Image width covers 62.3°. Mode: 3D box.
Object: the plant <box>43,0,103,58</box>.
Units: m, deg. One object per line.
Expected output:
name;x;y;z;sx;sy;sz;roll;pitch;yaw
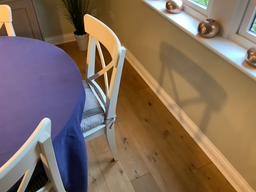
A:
plant;-0.600;-1.000;2.260;0.530;1.110;0.240;-20;47;-20
